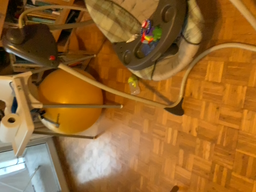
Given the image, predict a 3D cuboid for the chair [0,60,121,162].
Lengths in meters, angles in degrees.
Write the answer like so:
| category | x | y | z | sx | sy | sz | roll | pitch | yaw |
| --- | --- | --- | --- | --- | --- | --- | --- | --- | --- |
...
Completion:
| category | x | y | z | sx | sy | sz | roll | pitch | yaw |
| --- | --- | --- | --- | --- | --- | --- | --- | --- | --- |
| chair | -0.610 | 0.080 | 1.700 | 0.420 | 0.870 | 0.560 | -48 | 60 | 39 |
